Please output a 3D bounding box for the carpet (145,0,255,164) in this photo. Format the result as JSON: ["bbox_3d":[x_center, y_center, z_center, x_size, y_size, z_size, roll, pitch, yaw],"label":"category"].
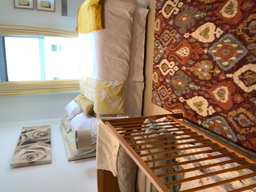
[{"bbox_3d":[0.580,-0.360,1.890,1.710,0.060,1.280,-150,60,-65],"label":"carpet"}]

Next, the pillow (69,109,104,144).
[{"bbox_3d":[-0.600,0.400,2.980,0.590,0.370,0.300,-158,67,-67],"label":"pillow"}]
